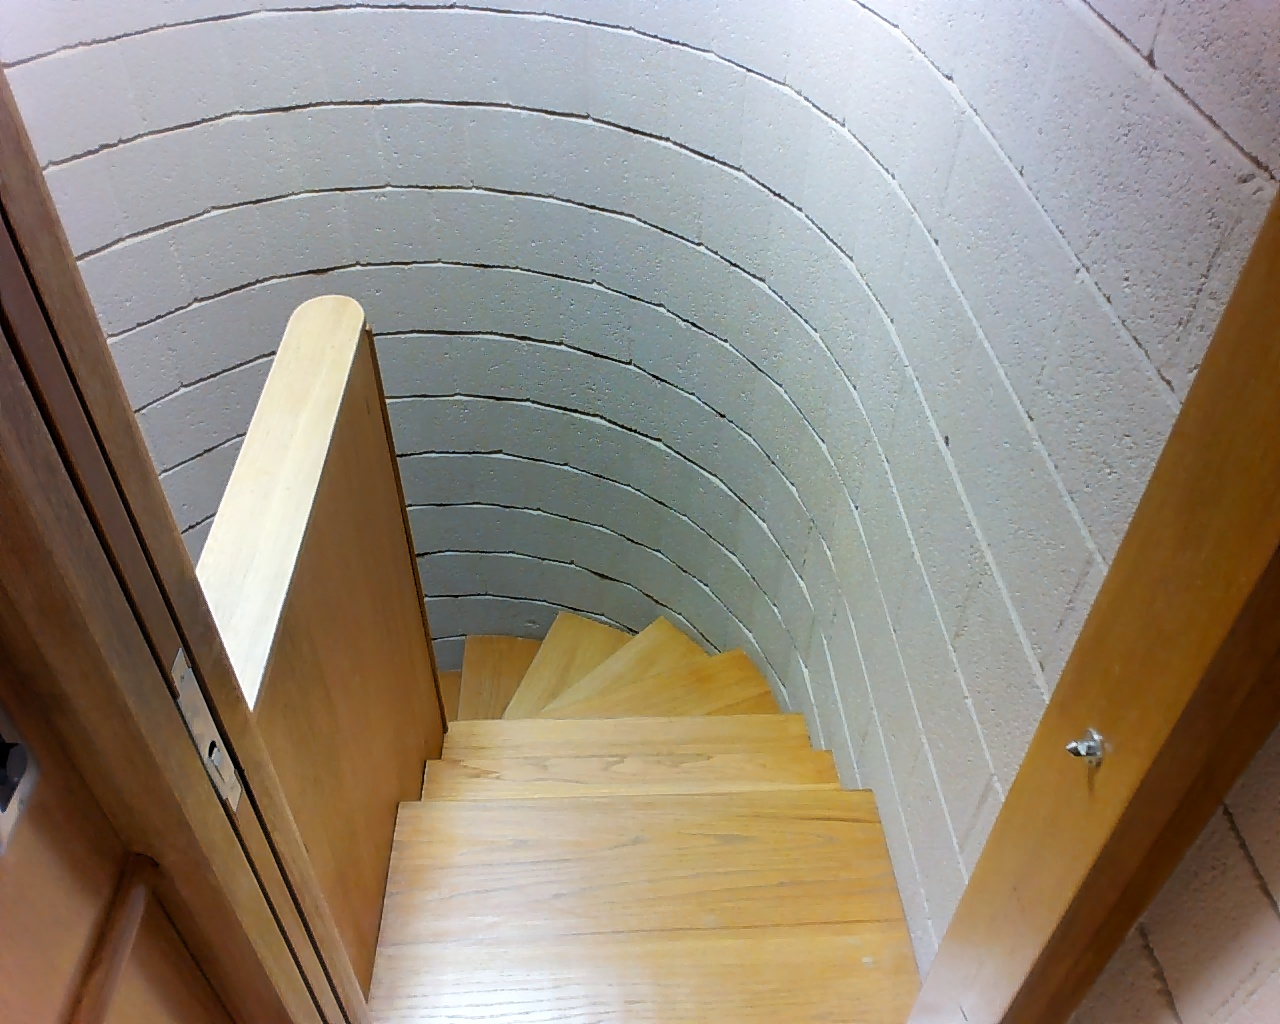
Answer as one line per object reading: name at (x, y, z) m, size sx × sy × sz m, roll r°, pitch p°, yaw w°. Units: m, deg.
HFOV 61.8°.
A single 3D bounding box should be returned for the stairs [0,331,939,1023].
stairs at (-0.590, 1.060, 3.160) m, size 1.930 × 2.470 × 1.680 m, roll -6°, pitch 44°, yaw -7°
